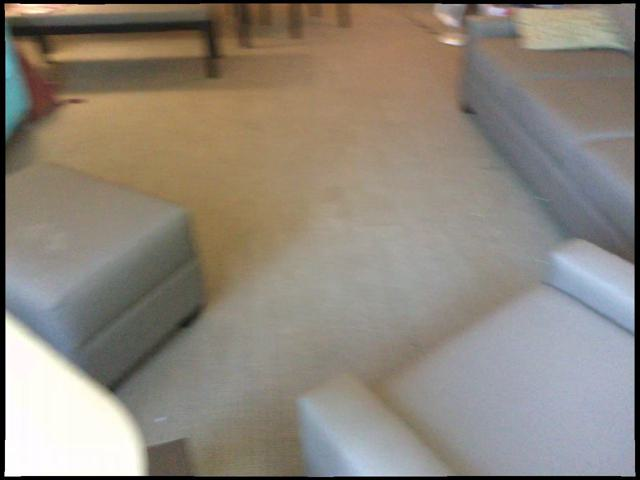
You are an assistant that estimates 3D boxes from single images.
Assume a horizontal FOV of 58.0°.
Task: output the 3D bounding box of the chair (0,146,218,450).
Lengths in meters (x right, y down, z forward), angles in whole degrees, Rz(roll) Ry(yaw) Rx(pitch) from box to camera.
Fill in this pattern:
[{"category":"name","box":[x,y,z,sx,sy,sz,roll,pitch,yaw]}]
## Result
[{"category":"chair","box":[-0.788,0.120,1.760,0.679,0.501,0.570,19,39,28]}]
